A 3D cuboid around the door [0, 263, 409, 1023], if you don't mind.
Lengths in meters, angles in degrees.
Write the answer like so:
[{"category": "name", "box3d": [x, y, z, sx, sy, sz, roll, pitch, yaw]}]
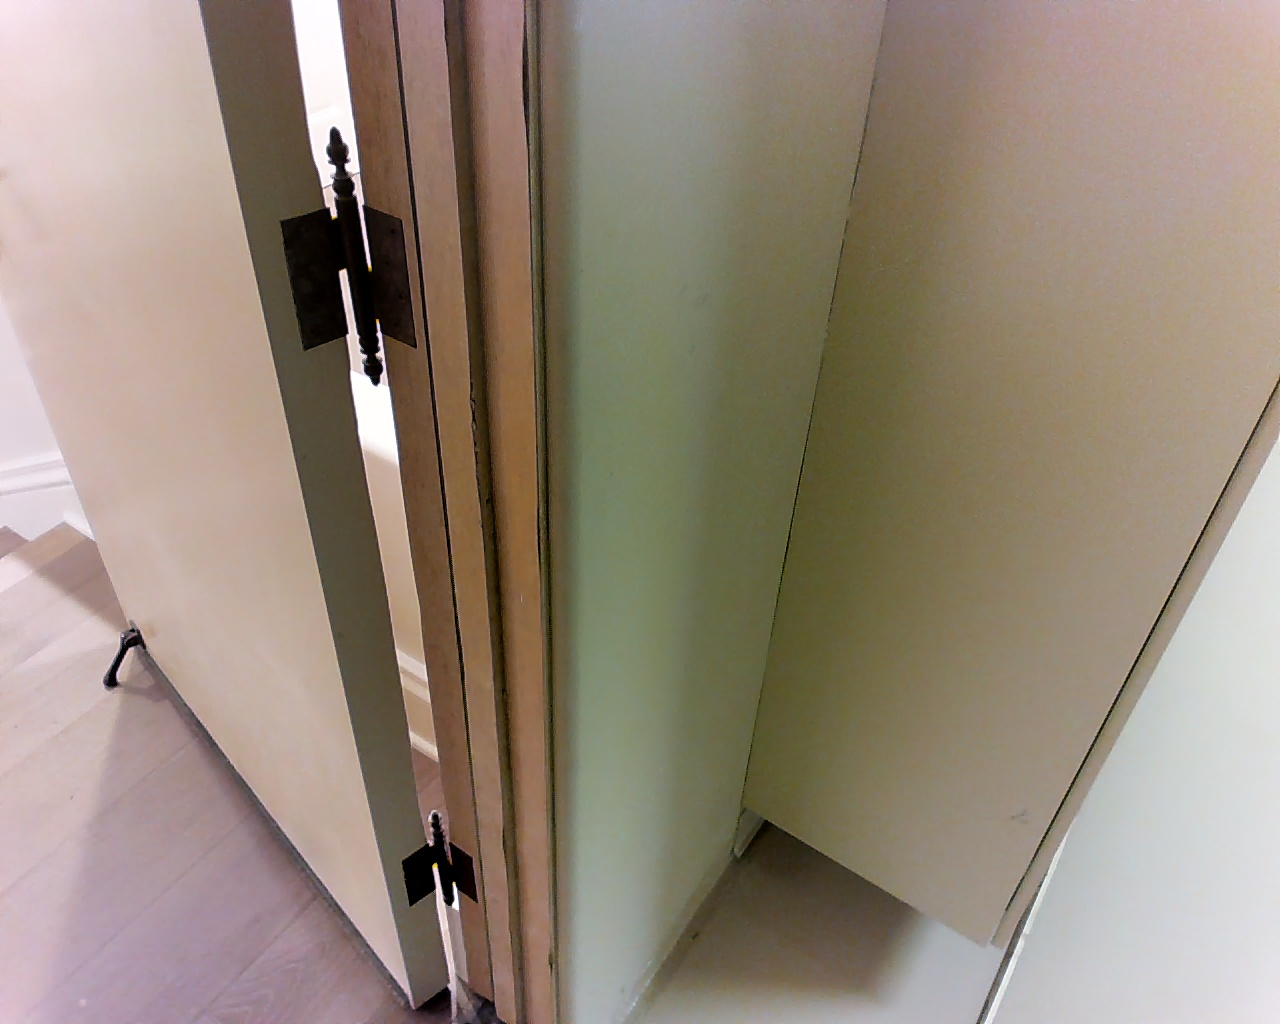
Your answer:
[{"category": "door", "box3d": [-0.690, 0.720, 2.000, 0.120, 2.180, 0.910, -27, 48, -29]}]
